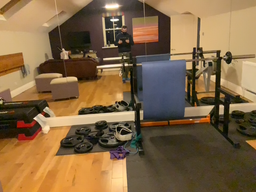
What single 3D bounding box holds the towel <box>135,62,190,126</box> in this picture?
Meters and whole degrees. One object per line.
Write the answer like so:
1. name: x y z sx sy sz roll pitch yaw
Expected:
1. towel: 0.480 -0.030 2.990 0.710 0.830 0.230 -3 15 -1
